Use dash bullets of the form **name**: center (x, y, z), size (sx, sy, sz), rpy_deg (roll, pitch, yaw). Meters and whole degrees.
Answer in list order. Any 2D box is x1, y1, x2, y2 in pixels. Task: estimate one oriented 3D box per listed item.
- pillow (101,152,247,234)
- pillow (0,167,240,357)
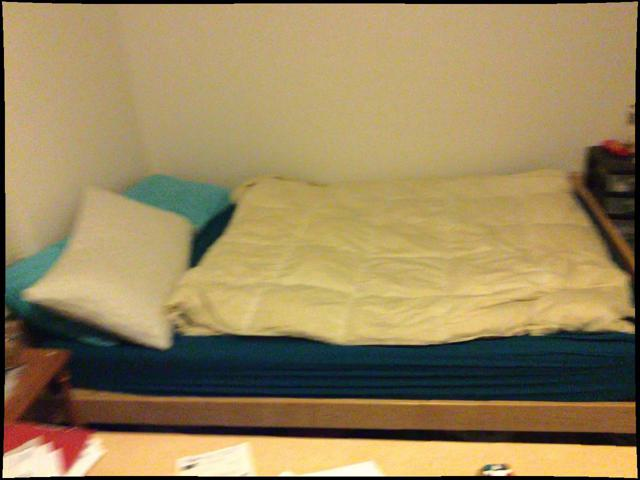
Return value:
- **pillow**: center (-0.649, -0.230, 2.700), size (0.480, 0.160, 0.560), rpy_deg (-1, 27, 8)
- **pillow**: center (-0.679, 0.030, 2.110), size (0.539, 0.270, 0.900), rpy_deg (-1, 27, 8)
